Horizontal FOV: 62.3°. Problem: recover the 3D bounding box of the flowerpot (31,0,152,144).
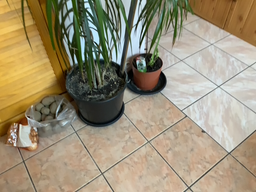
[{"bbox_3d":[-0.150,-0.280,0.930,0.350,1.130,0.340,-29,55,-22],"label":"flowerpot"}]
